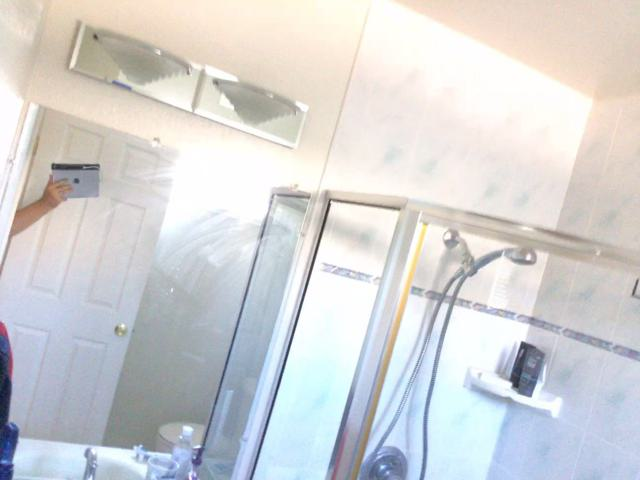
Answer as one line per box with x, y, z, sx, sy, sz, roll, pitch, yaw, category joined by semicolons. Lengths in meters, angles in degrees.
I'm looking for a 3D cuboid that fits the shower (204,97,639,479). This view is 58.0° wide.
0.330;0.820;1.480;0.990;2.010;0.900;16;-3;28;shower
